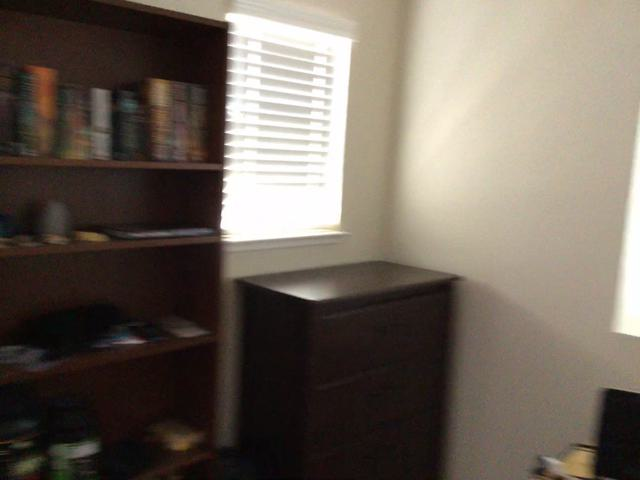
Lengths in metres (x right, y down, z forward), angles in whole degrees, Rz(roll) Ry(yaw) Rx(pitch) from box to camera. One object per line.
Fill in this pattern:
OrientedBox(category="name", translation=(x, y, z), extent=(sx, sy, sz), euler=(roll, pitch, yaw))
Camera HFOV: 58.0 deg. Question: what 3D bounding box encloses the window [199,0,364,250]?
OrientedBox(category="window", translation=(-0.130, -0.450, 2.240), extent=(0.660, 0.940, 0.160), euler=(-2, 6, -42))
